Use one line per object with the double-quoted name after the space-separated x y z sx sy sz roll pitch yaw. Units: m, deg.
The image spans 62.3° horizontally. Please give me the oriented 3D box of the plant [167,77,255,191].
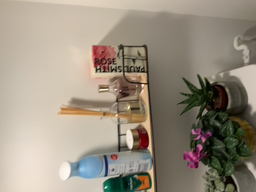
0.230 0.140 0.610 0.150 0.160 0.370 164 103 -72 "plant"
